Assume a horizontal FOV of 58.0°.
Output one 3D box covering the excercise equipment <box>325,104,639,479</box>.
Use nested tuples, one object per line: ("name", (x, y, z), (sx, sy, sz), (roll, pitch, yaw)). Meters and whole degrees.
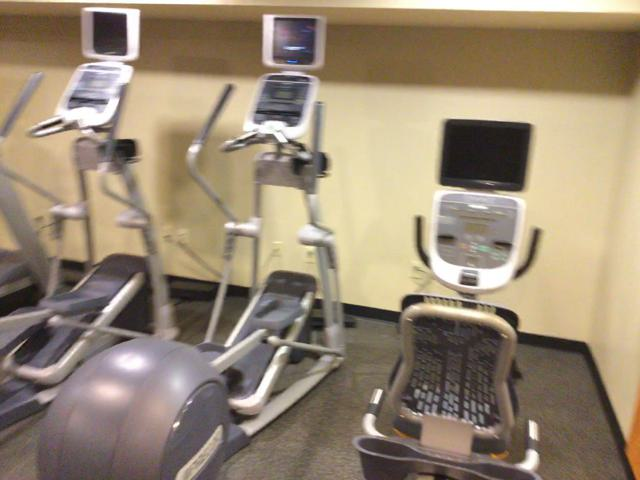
("excercise equipment", (0.510, 0.240, 2.000), (0.630, 1.310, 1.030), (10, 14, 15))

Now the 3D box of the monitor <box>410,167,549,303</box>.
("monitor", (0.630, -0.020, 2.320), (0.350, 0.400, 0.110), (44, 9, 6))
